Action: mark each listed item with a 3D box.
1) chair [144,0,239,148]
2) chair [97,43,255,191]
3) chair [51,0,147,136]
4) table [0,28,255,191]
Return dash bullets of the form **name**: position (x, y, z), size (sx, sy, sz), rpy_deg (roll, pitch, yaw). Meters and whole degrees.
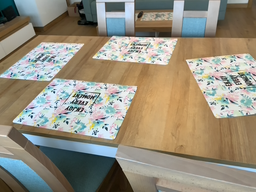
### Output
- **chair**: position (0.400, -0.170, 1.520), size (0.450, 1.000, 0.480), rpy_deg (6, 40, 15)
- **chair**: position (0.250, 0.370, 0.860), size (0.410, 0.990, 0.520), rpy_deg (7, 40, 16)
- **chair**: position (-0.130, -0.230, 1.670), size (0.450, 1.000, 0.480), rpy_deg (6, 40, 15)
- **table**: position (-0.010, 0.140, 1.360), size (1.650, 0.780, 0.960), rpy_deg (6, 40, 15)
